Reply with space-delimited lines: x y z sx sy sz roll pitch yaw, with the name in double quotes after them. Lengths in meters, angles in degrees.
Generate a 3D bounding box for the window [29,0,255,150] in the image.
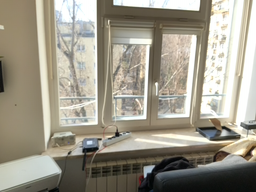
0.280 -0.550 1.920 2.130 2.030 0.200 -1 13 -10 "window"
